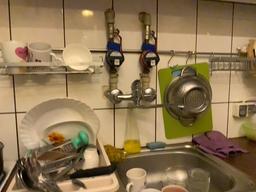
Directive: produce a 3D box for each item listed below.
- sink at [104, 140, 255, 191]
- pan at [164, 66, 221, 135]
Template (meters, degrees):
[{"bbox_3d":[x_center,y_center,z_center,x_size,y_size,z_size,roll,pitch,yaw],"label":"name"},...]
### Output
[{"bbox_3d":[0.180,0.360,0.820,0.470,0.200,0.470,-2,7,-15],"label":"sink"},{"bbox_3d":[0.300,0.010,1.000,0.230,0.300,0.110,-3,7,-20],"label":"pan"}]
